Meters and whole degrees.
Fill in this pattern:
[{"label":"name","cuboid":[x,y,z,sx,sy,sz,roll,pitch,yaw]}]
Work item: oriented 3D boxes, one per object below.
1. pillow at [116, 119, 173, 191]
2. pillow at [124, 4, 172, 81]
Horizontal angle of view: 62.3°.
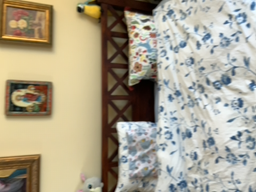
[{"label":"pillow","cuboid":[0.120,0.440,1.640,0.240,0.400,0.510,51,-142,-86]},{"label":"pillow","cuboid":[0.150,-0.400,1.670,0.120,0.340,0.530,11,-103,-65]}]
